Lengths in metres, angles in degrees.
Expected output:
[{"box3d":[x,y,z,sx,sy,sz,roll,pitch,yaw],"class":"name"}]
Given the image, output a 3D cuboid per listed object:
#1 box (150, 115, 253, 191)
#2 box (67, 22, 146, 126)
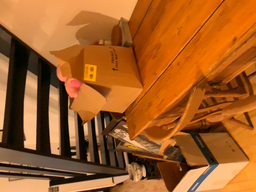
[{"box3d":[0.570,0.500,1.780,0.450,0.520,0.470,-114,32,-44],"class":"box"},{"box3d":[-0.220,-0.150,1.680,0.500,0.430,0.600,124,139,-55],"class":"box"}]
